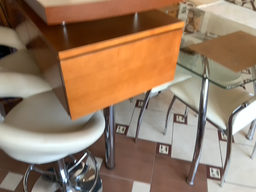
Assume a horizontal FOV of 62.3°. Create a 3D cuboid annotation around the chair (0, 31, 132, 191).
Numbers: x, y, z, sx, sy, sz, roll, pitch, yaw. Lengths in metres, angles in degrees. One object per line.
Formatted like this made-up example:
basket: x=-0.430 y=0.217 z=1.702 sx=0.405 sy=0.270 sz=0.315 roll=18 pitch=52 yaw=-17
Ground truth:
chair: x=-0.350 y=0.240 z=0.980 sx=0.480 sy=0.830 sz=0.530 roll=-26 pitch=46 yaw=-30
